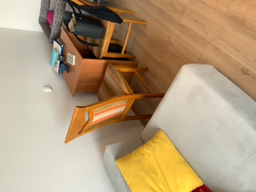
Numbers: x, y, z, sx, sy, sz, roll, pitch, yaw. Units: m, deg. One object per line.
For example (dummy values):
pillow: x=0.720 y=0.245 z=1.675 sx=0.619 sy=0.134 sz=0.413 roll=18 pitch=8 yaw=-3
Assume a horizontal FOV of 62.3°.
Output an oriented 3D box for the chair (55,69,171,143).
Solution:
chair: x=-0.140 y=0.050 z=2.010 sx=0.460 sy=0.910 sz=0.420 roll=52 pitch=133 yaw=38
